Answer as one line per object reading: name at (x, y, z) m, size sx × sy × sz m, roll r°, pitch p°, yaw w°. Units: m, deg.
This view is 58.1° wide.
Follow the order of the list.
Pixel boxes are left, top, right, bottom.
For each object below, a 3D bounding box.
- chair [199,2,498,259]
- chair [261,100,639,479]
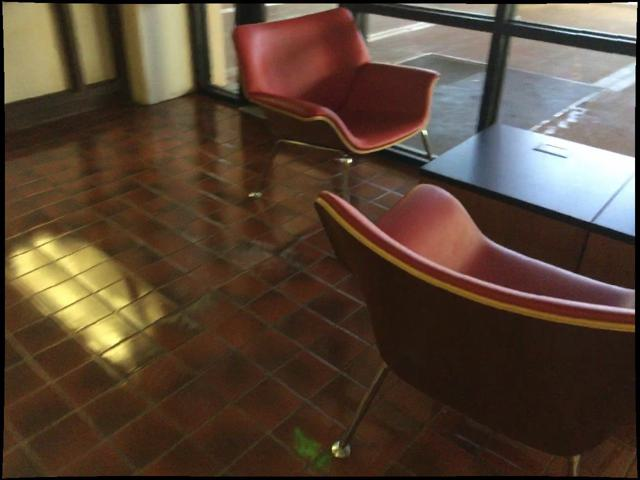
chair at (0.150, -0.602, 2.740) m, size 0.839 × 0.771 × 1.039 m, roll 26°, pitch 40°, yaw 36°
chair at (0.449, 0.211, 1.410) m, size 0.839 × 0.761 × 0.769 m, roll 26°, pitch 40°, yaw 36°
